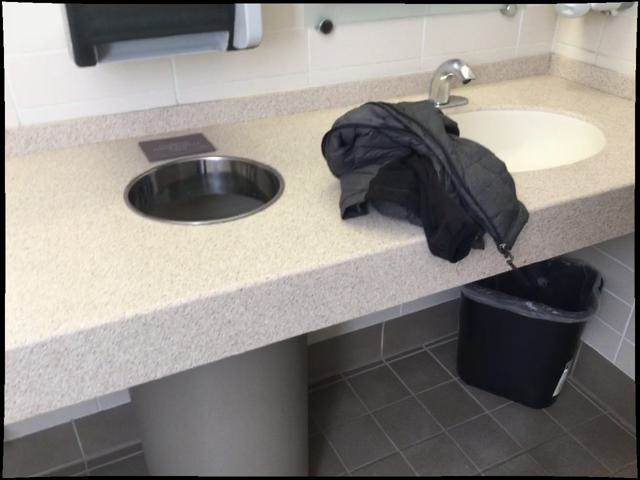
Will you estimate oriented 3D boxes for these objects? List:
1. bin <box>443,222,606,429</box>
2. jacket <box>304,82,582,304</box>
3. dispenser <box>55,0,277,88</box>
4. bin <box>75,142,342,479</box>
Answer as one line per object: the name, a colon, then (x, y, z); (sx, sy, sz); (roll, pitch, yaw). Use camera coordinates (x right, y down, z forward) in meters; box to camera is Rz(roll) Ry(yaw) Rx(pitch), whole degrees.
bin: (0.569, 0.230, 1.690); (0.350, 0.370, 0.420); (7, 34, 13)
jacket: (0.170, -0.100, 0.930); (0.280, 0.180, 0.330); (-14, 35, -19)
dispenser: (-0.260, -0.450, 0.920); (0.330, 0.330, 0.150); (-14, 35, -19)
bin: (-0.200, 0.280, 1.210); (0.370, 0.831, 0.360); (-14, 35, -19)
